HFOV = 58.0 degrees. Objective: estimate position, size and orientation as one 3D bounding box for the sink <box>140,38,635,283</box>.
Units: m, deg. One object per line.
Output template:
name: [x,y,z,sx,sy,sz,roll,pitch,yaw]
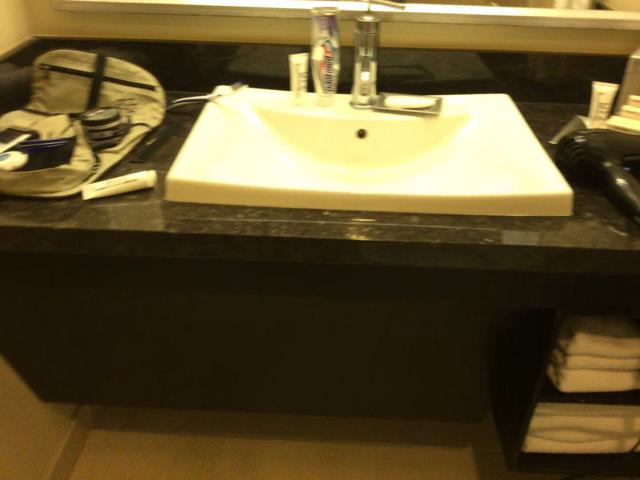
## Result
sink: [0.090,-0.170,1.020,0.650,0.220,0.480,2,33,0]
